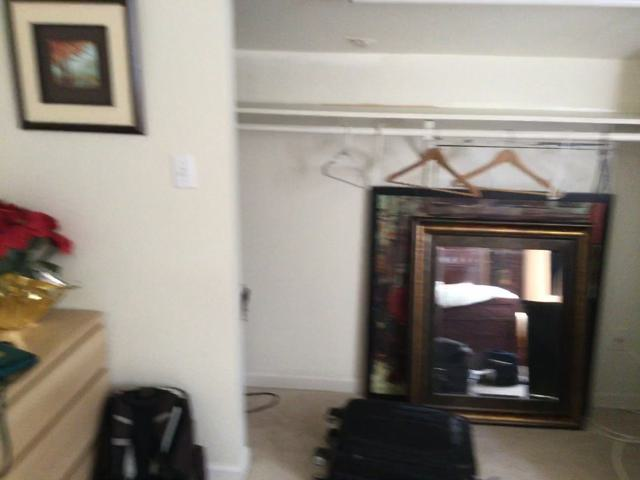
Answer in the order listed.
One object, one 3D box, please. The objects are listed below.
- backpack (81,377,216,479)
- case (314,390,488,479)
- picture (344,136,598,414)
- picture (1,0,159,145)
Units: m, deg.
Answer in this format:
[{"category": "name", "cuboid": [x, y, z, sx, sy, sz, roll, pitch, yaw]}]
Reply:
[{"category": "backpack", "cuboid": [-0.600, 0.760, 2.070, 0.390, 0.420, 0.290, 4, 10, 0]}, {"category": "case", "cuboid": [0.280, 0.810, 2.220, 0.590, 0.280, 0.390, 4, 10, 0]}, {"category": "picture", "cuboid": [0.660, 0.160, 2.710, 1.000, 1.210, 0.260, 4, 10, 0]}, {"category": "picture", "cuboid": [-0.770, -0.560, 1.870, 0.470, 0.470, 0.080, 4, 10, 0]}]
